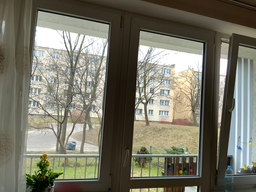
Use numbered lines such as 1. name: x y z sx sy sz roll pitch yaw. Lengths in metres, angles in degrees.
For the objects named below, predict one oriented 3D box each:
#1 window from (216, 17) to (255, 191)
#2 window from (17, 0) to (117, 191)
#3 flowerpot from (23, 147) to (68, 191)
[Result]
1. window: 1.170 0.150 1.970 0.610 1.610 0.200 5 -4 -18
2. window: -0.420 -0.030 1.560 0.560 1.370 0.150 6 -4 -21
3. flowerpot: -0.540 0.520 1.400 0.240 0.330 0.180 5 -4 -19
